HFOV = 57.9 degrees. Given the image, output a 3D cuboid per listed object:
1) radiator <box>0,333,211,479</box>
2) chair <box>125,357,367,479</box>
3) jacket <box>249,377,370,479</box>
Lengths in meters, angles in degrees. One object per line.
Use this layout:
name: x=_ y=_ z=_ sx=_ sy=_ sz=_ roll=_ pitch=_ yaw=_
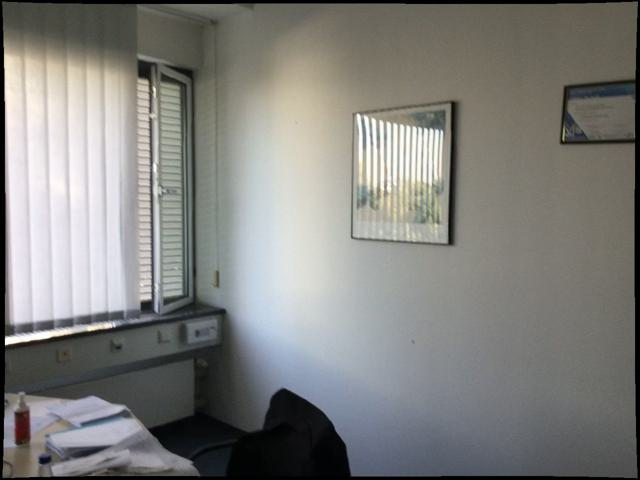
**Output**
radiator: x=-1.409 y=1.001 z=3.450 sx=0.250 sy=0.511 sz=1.639 roll=6 pitch=9 yaw=43
chair: x=-0.260 y=0.941 z=2.070 sx=0.620 sy=0.791 sz=0.590 roll=-6 pitch=9 yaw=-39
jacket: x=-0.050 y=0.941 z=2.080 sx=0.170 sy=0.741 sz=0.520 roll=-5 pitch=8 yaw=-34
